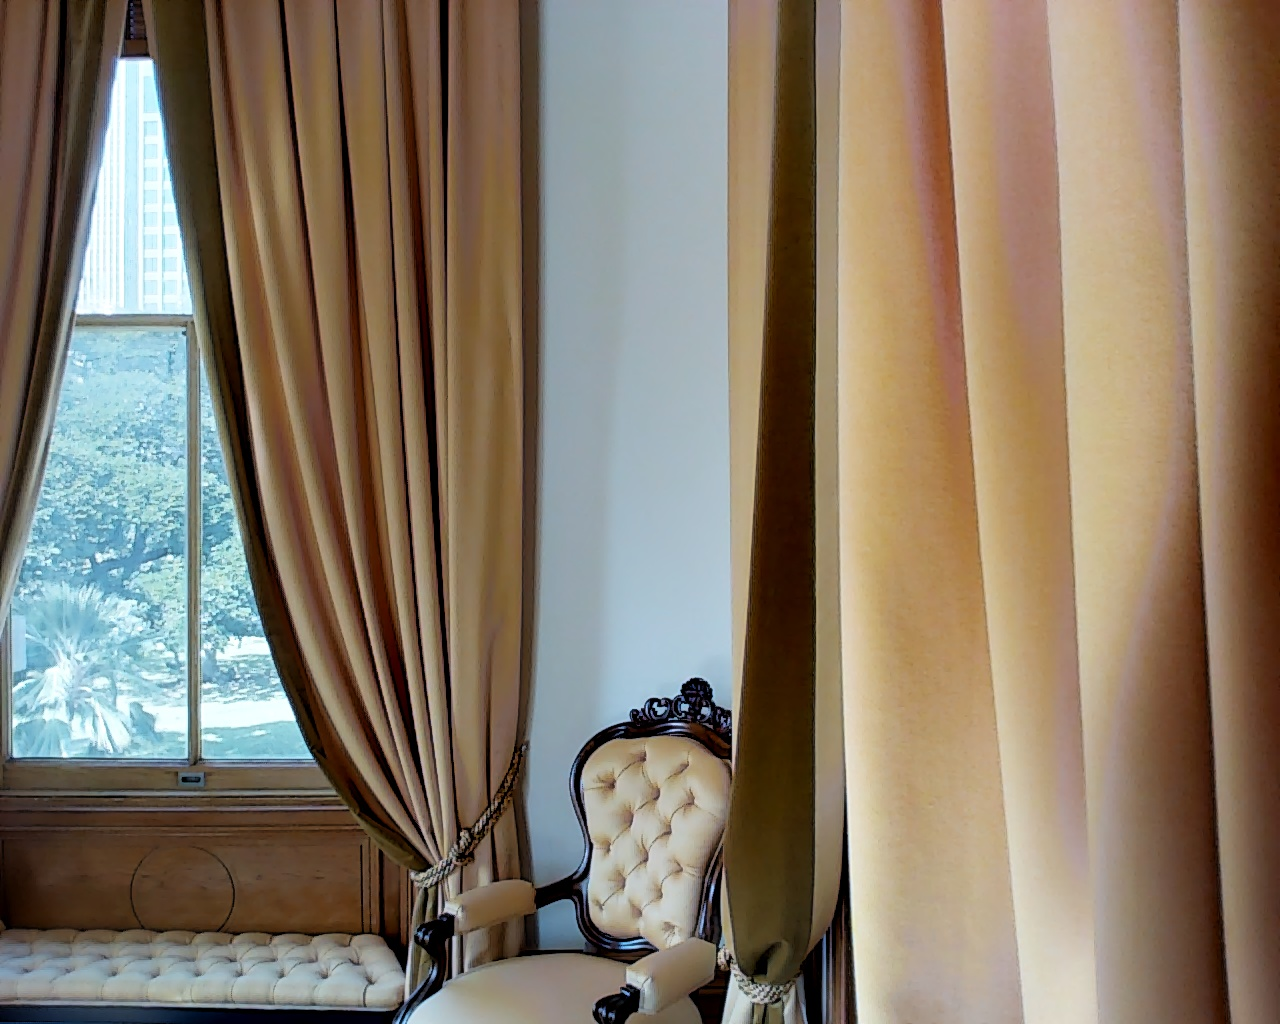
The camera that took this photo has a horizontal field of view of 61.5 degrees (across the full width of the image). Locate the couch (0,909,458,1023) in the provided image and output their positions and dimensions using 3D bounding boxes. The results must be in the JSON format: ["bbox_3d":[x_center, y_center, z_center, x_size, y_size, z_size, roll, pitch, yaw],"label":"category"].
[{"bbox_3d":[-1.330,1.350,3.040,1.550,0.270,0.440,0,1,2],"label":"couch"}]

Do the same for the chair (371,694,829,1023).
[{"bbox_3d":[-0.080,1.020,2.540,0.720,0.990,0.810,1,1,41],"label":"chair"}]
